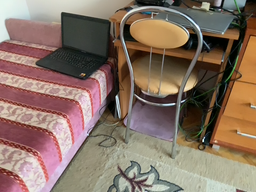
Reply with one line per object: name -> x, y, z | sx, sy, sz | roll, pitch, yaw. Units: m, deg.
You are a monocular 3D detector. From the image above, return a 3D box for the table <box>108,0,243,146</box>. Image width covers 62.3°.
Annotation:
table -> 0.280, -0.180, 1.380 | 0.620, 0.750, 0.480 | 13, 41, 17
